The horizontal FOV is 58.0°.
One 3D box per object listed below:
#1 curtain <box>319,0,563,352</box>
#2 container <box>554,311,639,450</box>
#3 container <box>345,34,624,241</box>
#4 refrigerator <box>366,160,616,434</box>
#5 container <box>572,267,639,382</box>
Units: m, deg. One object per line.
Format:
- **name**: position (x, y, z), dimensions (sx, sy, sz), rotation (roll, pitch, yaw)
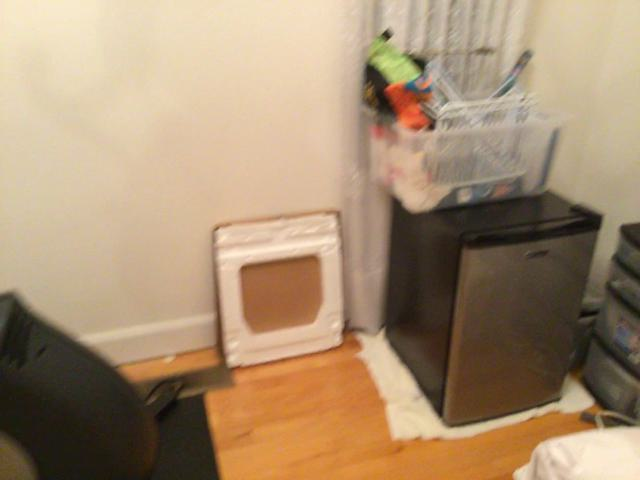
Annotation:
- **curtain**: position (0.390, -0.290, 2.050), dimensions (0.710, 1.420, 0.180), rotation (-5, 26, -16)
- **container**: position (0.980, 0.450, 1.840), dimensions (0.150, 0.220, 0.470), rotation (-5, 26, -16)
- **container**: position (0.440, -0.340, 1.750), dimensions (0.570, 0.480, 0.500), rotation (-5, 26, -16)
- **refrigerator**: position (0.510, 0.150, 1.970), dimensions (0.470, 0.670, 0.610), rotation (-5, 26, -16)
- **container**: position (0.960, 0.270, 1.770), dimensions (0.090, 0.220, 0.380), rotation (-5, 26, -16)
